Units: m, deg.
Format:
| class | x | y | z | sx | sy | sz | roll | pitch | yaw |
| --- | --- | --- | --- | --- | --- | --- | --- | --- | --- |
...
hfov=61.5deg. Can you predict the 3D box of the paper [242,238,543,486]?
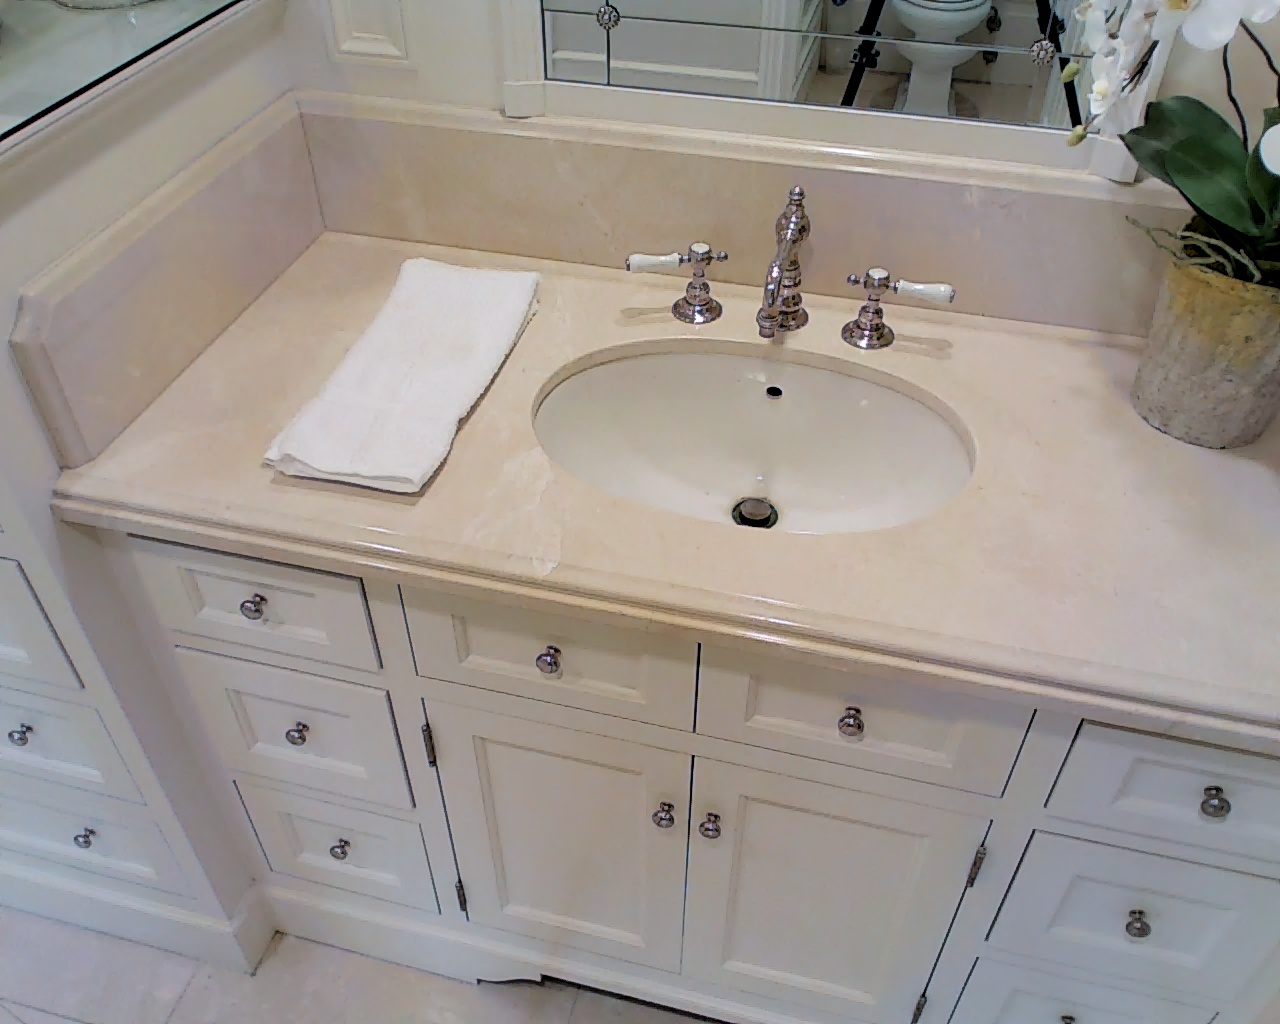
| class | x | y | z | sx | sy | sz | roll | pitch | yaw |
| --- | --- | --- | --- | --- | --- | --- | --- | --- | --- |
| paper | -0.250 | -0.180 | 1.170 | 0.180 | 0.040 | 0.390 | 9 | 43 | 10 |
